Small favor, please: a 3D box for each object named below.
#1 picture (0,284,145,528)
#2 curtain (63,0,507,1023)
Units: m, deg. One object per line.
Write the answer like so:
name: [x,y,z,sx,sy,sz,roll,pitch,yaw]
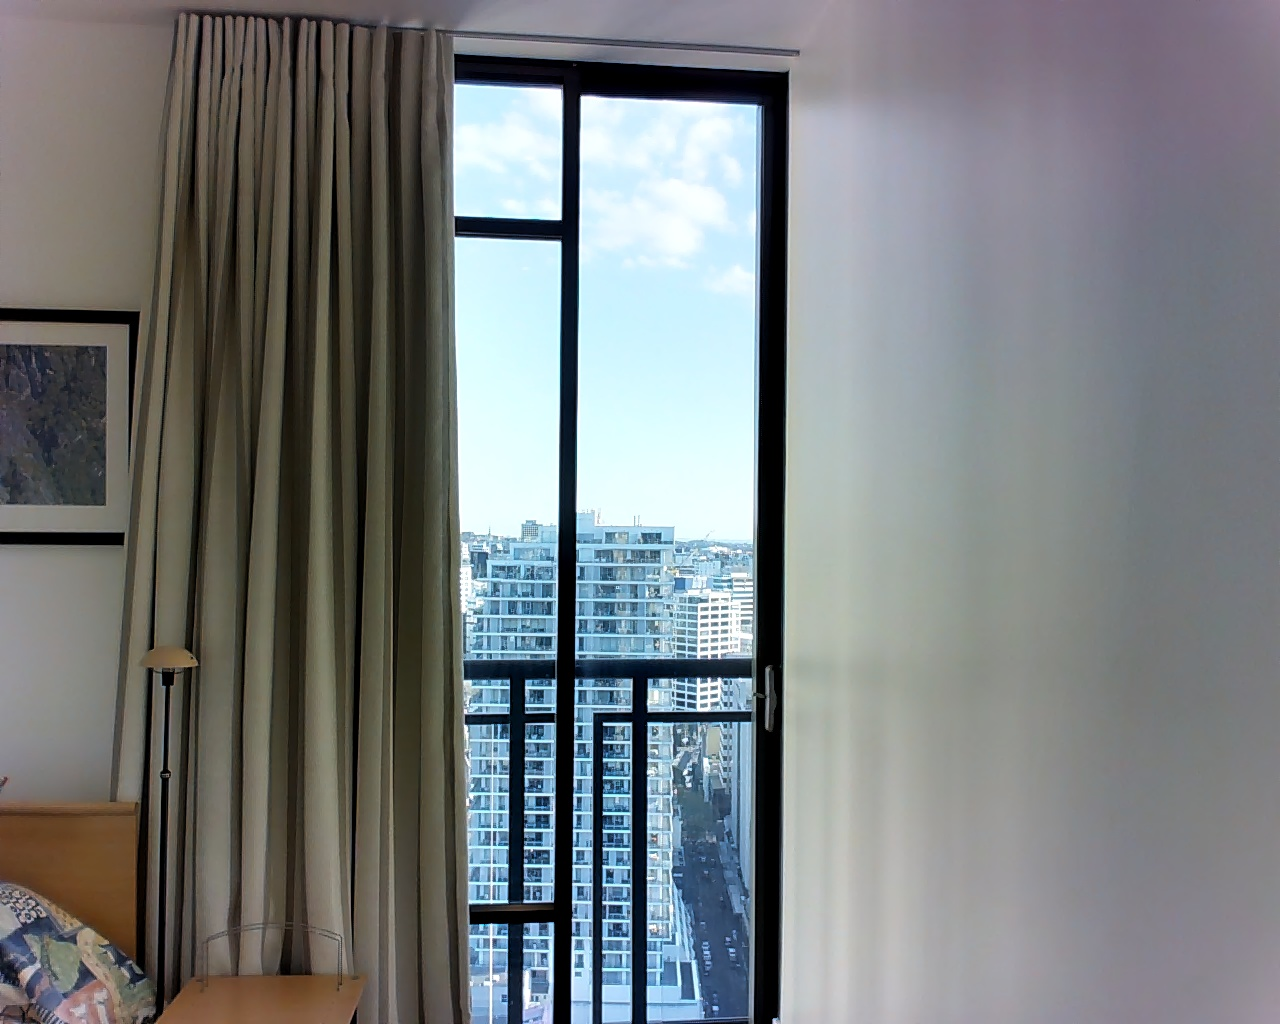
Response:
picture: [-1.560,-0.250,2.510,0.750,0.560,0.050,1,0,-6]
curtain: [-0.800,0.080,2.520,0.780,2.581,0.310,4,0,-6]
